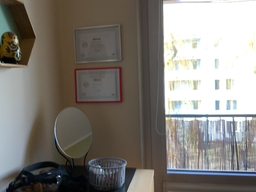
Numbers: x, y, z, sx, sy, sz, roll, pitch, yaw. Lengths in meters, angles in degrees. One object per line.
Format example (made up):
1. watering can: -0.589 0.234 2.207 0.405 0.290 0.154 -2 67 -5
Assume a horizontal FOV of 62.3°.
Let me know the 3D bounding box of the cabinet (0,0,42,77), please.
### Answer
1. cabinet: -0.510 -0.270 0.880 0.080 0.360 0.430 -1 3 5

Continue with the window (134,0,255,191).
1. window: 0.520 0.180 1.330 0.910 2.500 0.140 -1 3 11

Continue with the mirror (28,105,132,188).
1. mirror: -0.230 0.250 1.220 0.460 0.350 0.420 -1 3 7
